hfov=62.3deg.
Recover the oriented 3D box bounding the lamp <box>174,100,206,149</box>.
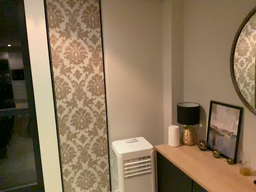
[{"bbox_3d":[0.580,0.260,2.000,0.180,0.390,0.230,-6,10,-21],"label":"lamp"}]
